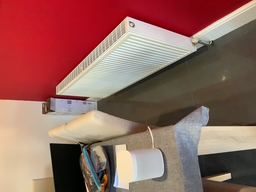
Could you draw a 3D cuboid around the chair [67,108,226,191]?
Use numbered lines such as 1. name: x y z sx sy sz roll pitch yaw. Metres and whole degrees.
1. chair: 0.140 0.390 1.390 0.400 0.960 0.510 -23 67 52
